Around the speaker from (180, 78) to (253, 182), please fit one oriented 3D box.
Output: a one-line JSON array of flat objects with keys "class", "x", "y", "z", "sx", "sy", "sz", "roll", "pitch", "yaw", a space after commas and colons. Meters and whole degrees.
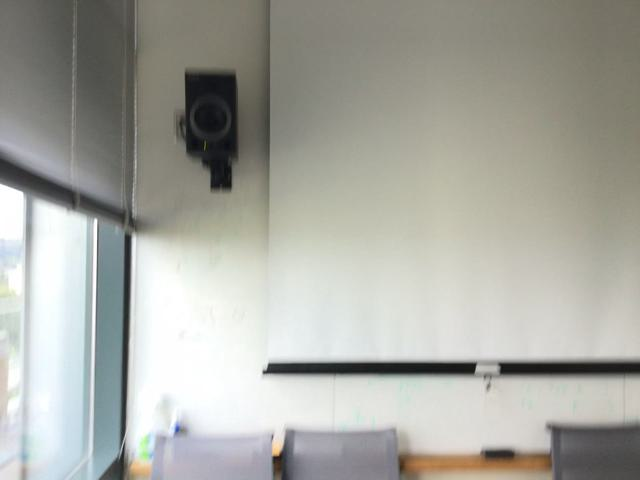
[{"class": "speaker", "x": -0.380, "y": -0.400, "z": 2.180, "sx": 0.190, "sy": 0.310, "sz": 0.340, "roll": -1, "pitch": -3, "yaw": 3}]
